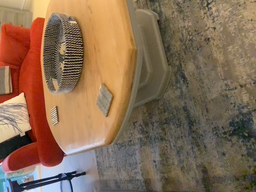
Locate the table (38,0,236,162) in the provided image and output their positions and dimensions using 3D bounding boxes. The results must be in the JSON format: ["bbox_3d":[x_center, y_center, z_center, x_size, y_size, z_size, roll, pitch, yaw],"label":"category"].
[{"bbox_3d":[-0.120,-0.210,1.230,0.990,0.440,0.980,-31,67,49],"label":"table"}]
